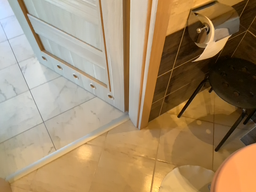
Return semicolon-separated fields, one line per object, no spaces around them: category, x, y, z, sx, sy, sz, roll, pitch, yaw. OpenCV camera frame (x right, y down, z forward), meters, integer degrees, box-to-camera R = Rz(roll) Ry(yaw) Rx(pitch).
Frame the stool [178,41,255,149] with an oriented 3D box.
stool;0.590;0.010;1.260;0.330;0.450;0.350;-30;64;-18
